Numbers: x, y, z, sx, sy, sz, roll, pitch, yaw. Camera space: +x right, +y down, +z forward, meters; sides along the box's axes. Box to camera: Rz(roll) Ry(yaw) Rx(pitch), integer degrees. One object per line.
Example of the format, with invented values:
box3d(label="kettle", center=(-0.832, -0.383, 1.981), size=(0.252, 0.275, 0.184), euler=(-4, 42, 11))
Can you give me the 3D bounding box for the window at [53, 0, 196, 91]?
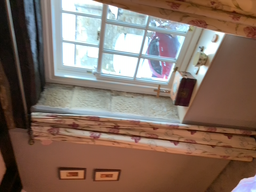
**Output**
box3d(label="window", center=(-0.060, -0.390, 1.750), size=(0.090, 1.040, 0.660), euler=(-94, 14, -51))
